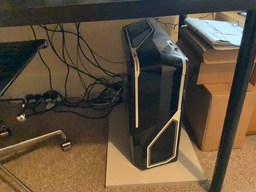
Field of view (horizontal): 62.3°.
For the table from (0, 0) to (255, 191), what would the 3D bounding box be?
[{"bbox_3d":[-0.400,-0.070,0.950,1.510,0.750,0.860,-3,32,-1],"label":"table"}]
